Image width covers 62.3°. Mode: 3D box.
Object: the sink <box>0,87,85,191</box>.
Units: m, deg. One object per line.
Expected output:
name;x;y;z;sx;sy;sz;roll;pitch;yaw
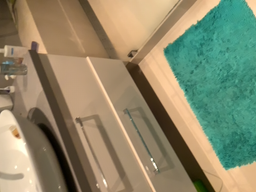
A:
sink;-0.360;0.310;0.810;0.380;0.130;0.570;-43;65;36
